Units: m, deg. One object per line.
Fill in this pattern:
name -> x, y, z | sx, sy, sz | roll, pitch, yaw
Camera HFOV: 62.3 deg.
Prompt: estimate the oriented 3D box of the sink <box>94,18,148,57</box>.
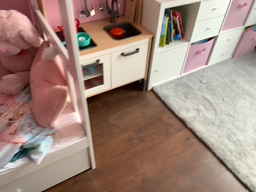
sink -> -0.060, -0.460, 1.620 | 0.280, 0.110, 0.320 | -20, 48, -23
